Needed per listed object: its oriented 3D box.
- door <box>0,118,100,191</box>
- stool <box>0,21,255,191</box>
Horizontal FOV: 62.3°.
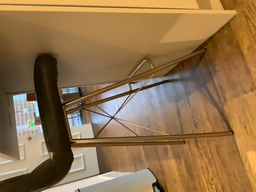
[{"bbox_3d":[-1.580,1.080,3.260,0.170,2.130,1.100,149,110,-66],"label":"door"},{"bbox_3d":[0.000,0.070,0.870,0.550,0.820,0.480,138,121,-63],"label":"stool"}]
